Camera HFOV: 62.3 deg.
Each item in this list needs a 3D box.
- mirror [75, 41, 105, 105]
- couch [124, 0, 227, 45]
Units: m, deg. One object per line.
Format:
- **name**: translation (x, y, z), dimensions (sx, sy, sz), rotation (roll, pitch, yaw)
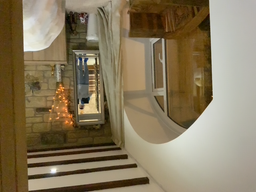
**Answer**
- **mirror**: translation (-0.680, -0.410, 3.800), dimensions (0.480, 1.110, 0.070), rotation (-2, 180, -12)
- **couch**: translation (0.390, -1.070, 2.240), dimensions (0.640, 0.790, 1.070), rotation (-2, 180, -13)
